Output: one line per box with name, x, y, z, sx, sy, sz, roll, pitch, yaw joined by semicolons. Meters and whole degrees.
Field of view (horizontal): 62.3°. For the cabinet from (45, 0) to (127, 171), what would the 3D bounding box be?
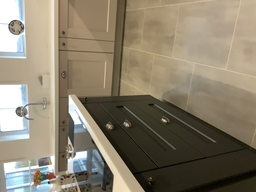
cabinet;-0.660;-0.250;3.130;0.610;0.940;2.510;33;122;58
